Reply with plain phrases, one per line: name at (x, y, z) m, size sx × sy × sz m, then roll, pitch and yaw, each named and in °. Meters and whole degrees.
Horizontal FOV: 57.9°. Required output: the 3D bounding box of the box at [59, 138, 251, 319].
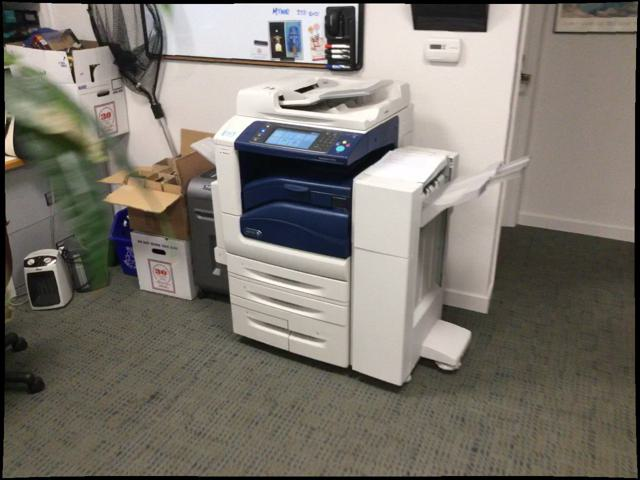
box at (-0.779, -0.080, 2.820) m, size 0.729 × 0.691 × 0.390 m, roll 10°, pitch 26°, yaw 24°

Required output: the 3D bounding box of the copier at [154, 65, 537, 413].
copier at (0.120, -0.100, 2.410) m, size 1.279 × 1.091 × 0.690 m, roll 10°, pitch 26°, yaw 24°
